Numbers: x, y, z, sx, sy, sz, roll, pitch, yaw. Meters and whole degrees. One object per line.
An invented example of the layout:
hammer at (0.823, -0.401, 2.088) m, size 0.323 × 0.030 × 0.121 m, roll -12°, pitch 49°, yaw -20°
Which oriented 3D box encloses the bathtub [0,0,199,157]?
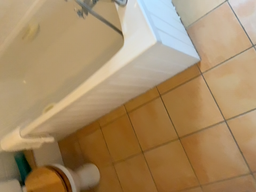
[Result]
bathtub at (-0.470, -0.170, 1.570) m, size 1.660 × 0.550 × 0.710 m, roll -30°, pitch 75°, yaw 31°
